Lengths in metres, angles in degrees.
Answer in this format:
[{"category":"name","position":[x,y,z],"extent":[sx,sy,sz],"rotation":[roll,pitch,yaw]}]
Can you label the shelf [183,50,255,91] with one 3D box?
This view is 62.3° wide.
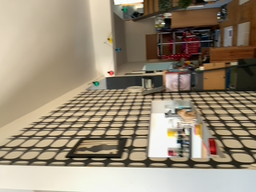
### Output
[{"category":"shelf","position":[1.310,-0.290,2.280],"extent":[0.350,1.350,0.370],"rotation":[-63,-29,-75]}]
